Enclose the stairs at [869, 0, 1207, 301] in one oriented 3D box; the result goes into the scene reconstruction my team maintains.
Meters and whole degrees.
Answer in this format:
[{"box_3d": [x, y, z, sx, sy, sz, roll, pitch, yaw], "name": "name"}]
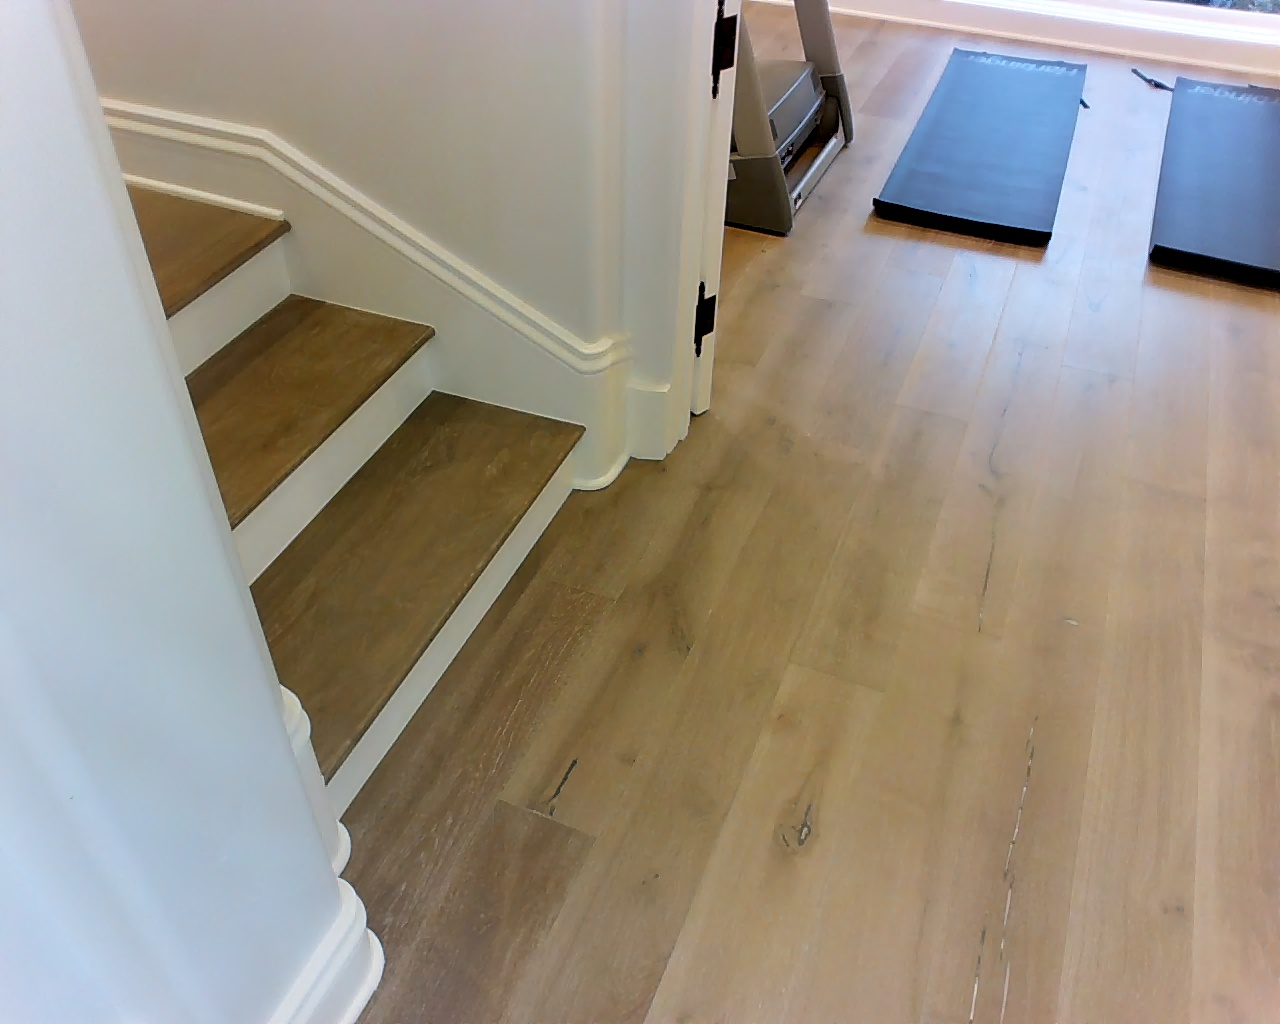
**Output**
[{"box_3d": [1.380, -1.400, 3.710, 0.810, 0.770, 1.080, 17, 43, 17], "name": "stairs"}]
